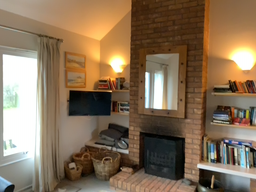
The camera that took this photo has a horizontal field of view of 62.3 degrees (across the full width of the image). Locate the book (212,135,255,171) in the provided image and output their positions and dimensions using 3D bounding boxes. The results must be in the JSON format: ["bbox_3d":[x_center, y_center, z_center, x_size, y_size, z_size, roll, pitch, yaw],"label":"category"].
[{"bbox_3d":[1.840,0.830,2.940,1.210,0.360,0.300,3,4,31],"label":"book"}]

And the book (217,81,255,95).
[{"bbox_3d":[1.840,-0.110,2.990,1.070,0.200,0.160,3,4,30],"label":"book"}]

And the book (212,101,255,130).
[{"bbox_3d":[1.860,0.290,3.020,1.200,0.360,0.260,3,4,33],"label":"book"}]
